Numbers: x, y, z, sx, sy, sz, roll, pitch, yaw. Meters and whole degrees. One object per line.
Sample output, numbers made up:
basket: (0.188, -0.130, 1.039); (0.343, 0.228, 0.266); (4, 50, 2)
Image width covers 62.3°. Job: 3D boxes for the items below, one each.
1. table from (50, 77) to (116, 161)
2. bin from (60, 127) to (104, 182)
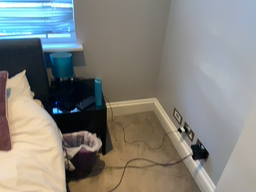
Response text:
table: (-0.380, 0.170, 1.770); (0.450, 0.450, 0.470); (-6, 35, -15)
bin: (-0.330, 0.420, 1.540); (0.280, 0.290, 0.200); (-7, 35, -16)
